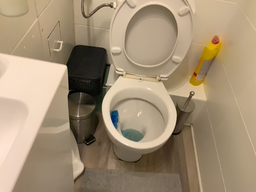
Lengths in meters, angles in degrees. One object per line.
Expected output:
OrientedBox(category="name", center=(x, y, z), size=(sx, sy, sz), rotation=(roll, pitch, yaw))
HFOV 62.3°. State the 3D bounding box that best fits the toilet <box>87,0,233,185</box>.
OrientedBox(category="toilet", center=(0.060, -0.070, 1.040), size=(0.370, 0.790, 0.660), rotation=(9, 46, -2))
